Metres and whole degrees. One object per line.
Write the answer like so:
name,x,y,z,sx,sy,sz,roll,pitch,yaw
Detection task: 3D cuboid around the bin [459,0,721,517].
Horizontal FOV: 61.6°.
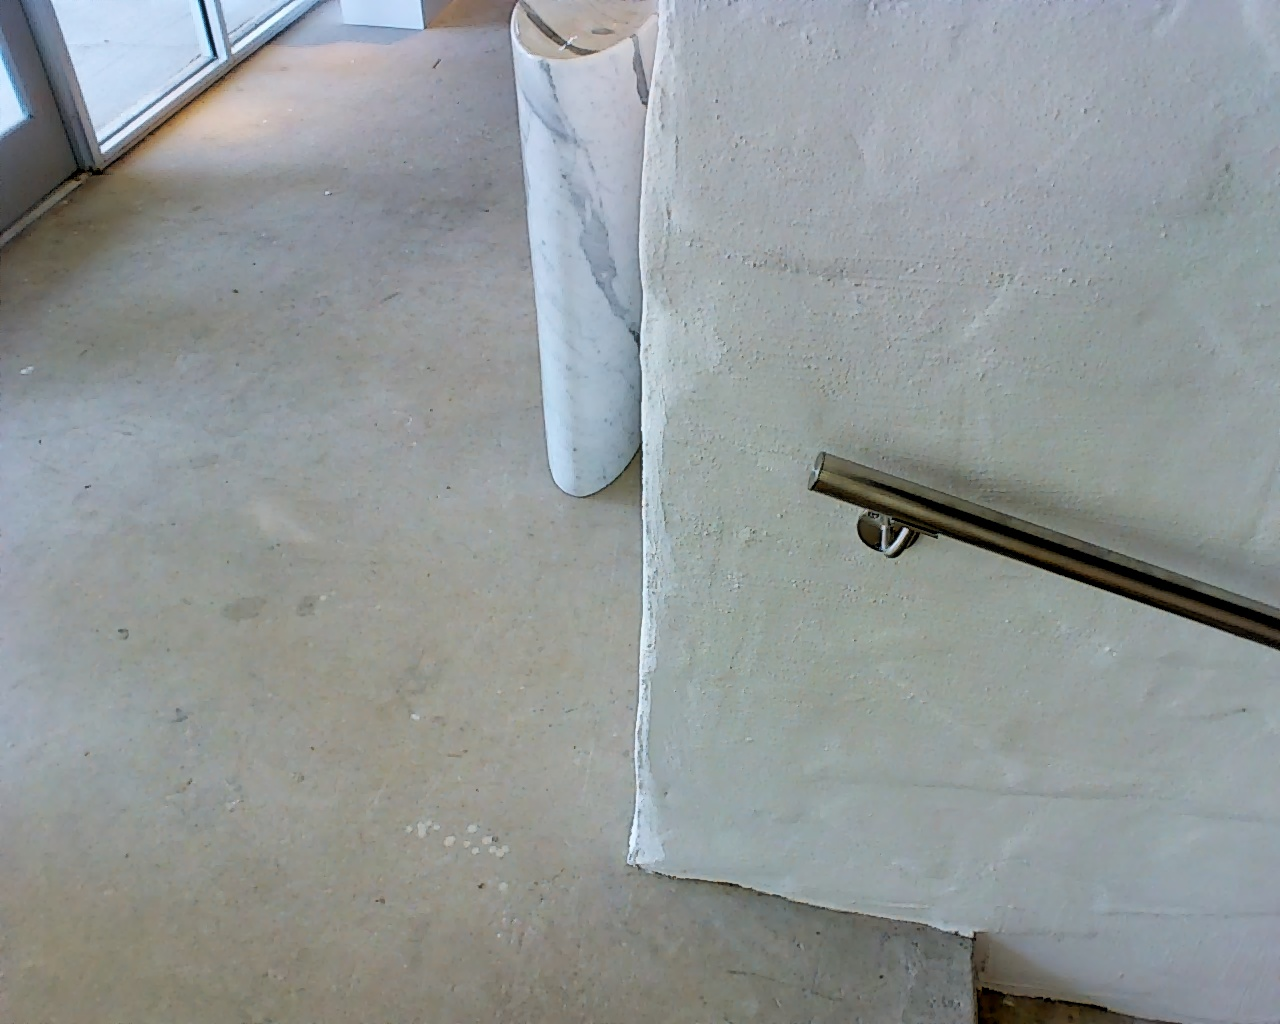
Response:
bin,-0.060,-0.610,2.220,0.310,0.950,0.750,8,43,8
